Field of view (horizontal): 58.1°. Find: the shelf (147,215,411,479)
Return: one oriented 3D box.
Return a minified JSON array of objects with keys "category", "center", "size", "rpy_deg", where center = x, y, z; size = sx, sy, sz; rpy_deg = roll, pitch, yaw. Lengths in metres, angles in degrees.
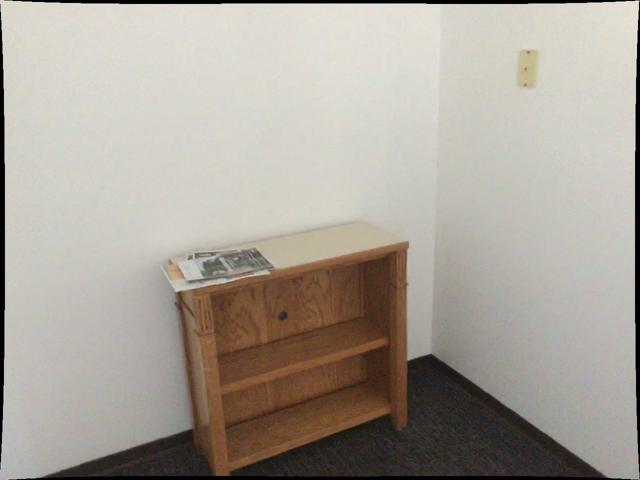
[{"category":"shelf","center":[-0.120,0.391,2.070],"size":[0.819,0.781,0.360],"rpy_deg":[-11,20,-25]}]
